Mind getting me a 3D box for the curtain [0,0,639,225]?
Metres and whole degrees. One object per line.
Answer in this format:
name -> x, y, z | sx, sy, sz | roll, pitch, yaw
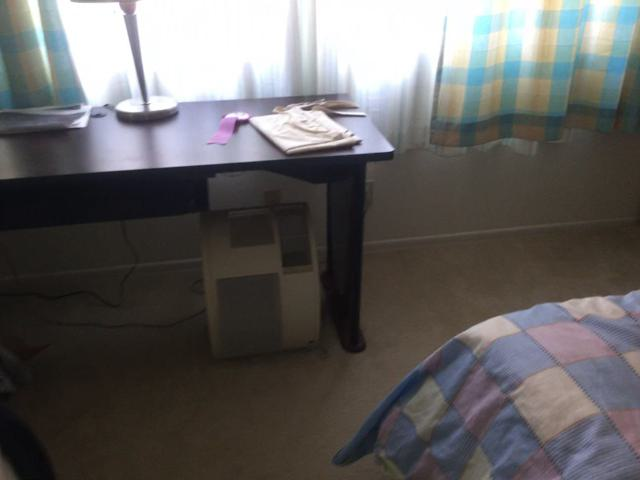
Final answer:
curtain -> 0.040, -0.970, 1.770 | 3.120, 1.690, 0.410 | -4, 30, -7
